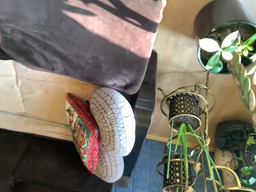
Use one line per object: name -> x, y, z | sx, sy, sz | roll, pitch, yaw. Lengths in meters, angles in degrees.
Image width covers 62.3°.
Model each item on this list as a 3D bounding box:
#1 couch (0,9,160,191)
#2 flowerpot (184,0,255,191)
couch -> -1.010, 0.230, 1.390 | 2.200, 1.260, 1.090 | 10, 136, -2
flowerpot -> 0.480, 0.060, 0.890 | 0.280, 1.420, 0.280 | 15, 136, -7
